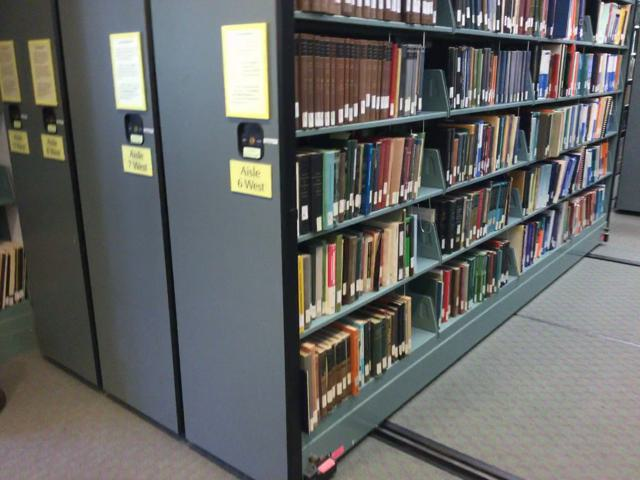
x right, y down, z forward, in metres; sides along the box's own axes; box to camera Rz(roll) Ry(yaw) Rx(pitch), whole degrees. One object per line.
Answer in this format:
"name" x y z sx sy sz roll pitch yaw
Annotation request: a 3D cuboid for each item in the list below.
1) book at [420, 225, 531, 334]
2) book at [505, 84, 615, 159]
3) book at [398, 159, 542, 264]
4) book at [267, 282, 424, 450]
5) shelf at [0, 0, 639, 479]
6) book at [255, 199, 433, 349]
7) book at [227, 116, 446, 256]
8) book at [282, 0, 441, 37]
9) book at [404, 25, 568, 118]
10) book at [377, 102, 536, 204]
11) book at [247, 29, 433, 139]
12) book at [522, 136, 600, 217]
"book" 0.770 0.160 2.770 0.130 0.280 0.880 12 20 39
"book" 1.390 -0.700 3.280 0.210 0.340 1.110 12 20 39
"book" 0.740 -0.170 2.740 0.250 0.300 0.960 12 20 39
"book" 0.120 0.410 2.050 0.140 0.320 0.710 12 20 39
"shelf" 0.450 -0.870 3.270 2.030 2.550 3.750 12 20 39
"book" 0.120 0.080 2.030 0.170 0.310 0.780 12 20 39
"book" 0.100 -0.230 2.000 0.280 0.340 0.840 12 20 39
"book" 0.160 -0.790 1.740 0.050 0.300 0.750 12 20 39
"book" 0.810 -0.770 2.660 0.220 0.330 1.210 12 20 39
"book" 0.640 -0.420 2.560 0.220 0.330 1.030 12 20 39
"book" 0.100 -0.500 1.850 0.160 0.280 0.740 12 20 39
"book" 1.410 -0.390 3.330 0.090 0.330 0.960 12 20 39
